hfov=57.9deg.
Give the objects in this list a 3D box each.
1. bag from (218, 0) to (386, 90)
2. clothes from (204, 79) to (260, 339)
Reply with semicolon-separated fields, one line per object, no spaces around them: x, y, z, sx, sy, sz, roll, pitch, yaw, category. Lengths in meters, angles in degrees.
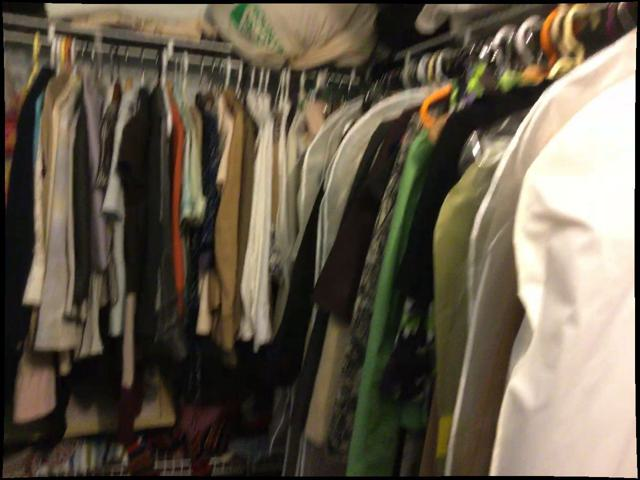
-0.070;-0.701;1.710;0.410;0.420;0.420;2;8;-15;bag
-0.270;-0.110;1.660;0.070;0.611;0.620;2;8;-15;clothes
